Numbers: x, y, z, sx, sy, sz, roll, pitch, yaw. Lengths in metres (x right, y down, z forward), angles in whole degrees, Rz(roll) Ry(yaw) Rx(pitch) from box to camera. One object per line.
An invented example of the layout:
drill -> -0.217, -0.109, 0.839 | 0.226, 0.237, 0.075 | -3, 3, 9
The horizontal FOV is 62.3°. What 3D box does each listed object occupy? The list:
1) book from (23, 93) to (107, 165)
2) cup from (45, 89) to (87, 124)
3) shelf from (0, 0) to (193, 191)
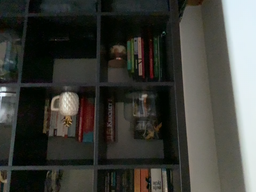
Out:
book -> -0.340, 0.190, 1.220 | 0.410, 0.380, 0.160 | -1, 167, 1
cup -> -0.310, 0.060, 1.090 | 0.150, 0.150, 0.180 | -1, 167, 3
shelf -> -0.310, 0.000, 1.120 | 1.120, 1.450, 0.390 | 0, 167, 0
